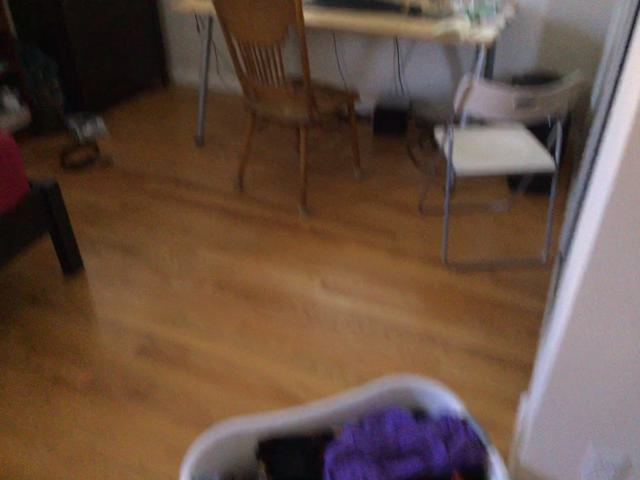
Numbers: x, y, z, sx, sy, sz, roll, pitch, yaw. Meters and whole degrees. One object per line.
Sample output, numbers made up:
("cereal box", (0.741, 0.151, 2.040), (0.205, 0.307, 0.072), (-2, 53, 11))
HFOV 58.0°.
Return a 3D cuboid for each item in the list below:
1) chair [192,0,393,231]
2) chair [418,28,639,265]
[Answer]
("chair", (-0.090, -0.730, 2.660), (0.550, 1.070, 0.700), (20, 39, 27))
("chair", (0.760, -0.380, 2.310), (0.550, 0.750, 0.540), (-4, 35, -5))
